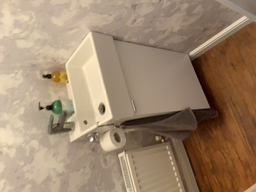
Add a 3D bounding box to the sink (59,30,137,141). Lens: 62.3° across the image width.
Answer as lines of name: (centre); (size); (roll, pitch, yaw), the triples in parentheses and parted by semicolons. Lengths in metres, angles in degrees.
sink: (-0.180, -0.030, 1.060); (0.400, 0.120, 0.400); (-34, 65, 45)
